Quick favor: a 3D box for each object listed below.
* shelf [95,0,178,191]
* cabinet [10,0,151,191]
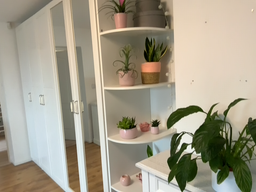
[{"bbox_3d":[0.110,0.090,1.910,0.560,2.430,0.370,-10,10,-39],"label":"shelf"},{"bbox_3d":[-0.860,0.000,2.980,0.660,2.400,2.520,-10,10,-39],"label":"cabinet"}]
